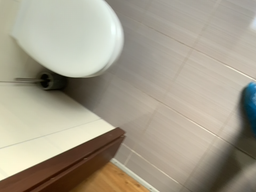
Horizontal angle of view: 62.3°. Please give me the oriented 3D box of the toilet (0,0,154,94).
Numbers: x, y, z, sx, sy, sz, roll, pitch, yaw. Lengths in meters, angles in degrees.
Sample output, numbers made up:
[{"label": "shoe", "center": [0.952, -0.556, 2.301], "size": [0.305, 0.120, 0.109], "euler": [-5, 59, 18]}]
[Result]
[{"label": "toilet", "center": [-0.220, -0.290, 1.070], "size": [0.510, 0.460, 0.360], "euler": [26, 100, 16]}]
